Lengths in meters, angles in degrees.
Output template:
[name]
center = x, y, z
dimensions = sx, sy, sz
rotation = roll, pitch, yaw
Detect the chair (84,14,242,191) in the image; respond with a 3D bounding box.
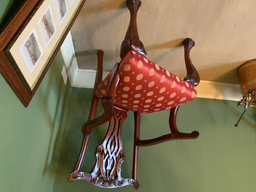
[chair]
center = 0.180, 0.130, 1.530
dimensions = 0.640, 0.960, 0.720
rotation = 18, 147, -28
